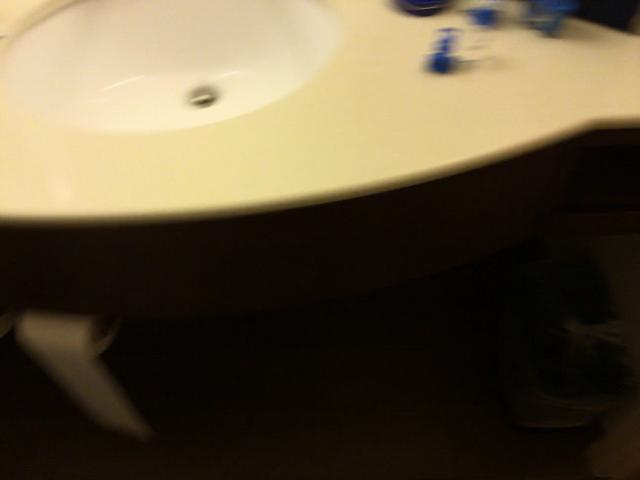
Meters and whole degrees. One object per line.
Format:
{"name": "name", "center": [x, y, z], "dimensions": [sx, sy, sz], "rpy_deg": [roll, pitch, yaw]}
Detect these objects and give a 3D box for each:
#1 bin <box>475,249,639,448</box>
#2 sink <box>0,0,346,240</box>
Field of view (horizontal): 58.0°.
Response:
{"name": "bin", "center": [0.460, 0.220, 1.170], "dimensions": [0.190, 0.250, 0.310], "rpy_deg": [-2, 52, 0]}
{"name": "sink", "center": [-0.190, -0.200, 0.770], "dimensions": [0.430, 0.180, 0.350], "rpy_deg": [-2, 52, 0]}
